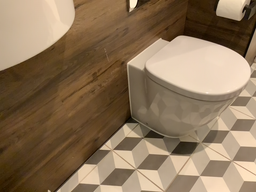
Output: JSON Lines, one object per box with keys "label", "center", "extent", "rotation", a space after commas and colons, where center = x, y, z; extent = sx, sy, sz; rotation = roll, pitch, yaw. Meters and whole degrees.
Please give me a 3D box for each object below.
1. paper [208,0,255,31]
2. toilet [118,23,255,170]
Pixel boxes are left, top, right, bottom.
{"label": "paper", "center": [0.490, -0.410, 0.990], "extent": [0.140, 0.120, 0.160], "rotation": [30, 54, 29]}
{"label": "toilet", "center": [0.280, -0.020, 1.080], "extent": [0.490, 0.450, 0.390], "rotation": [30, 54, 29]}
